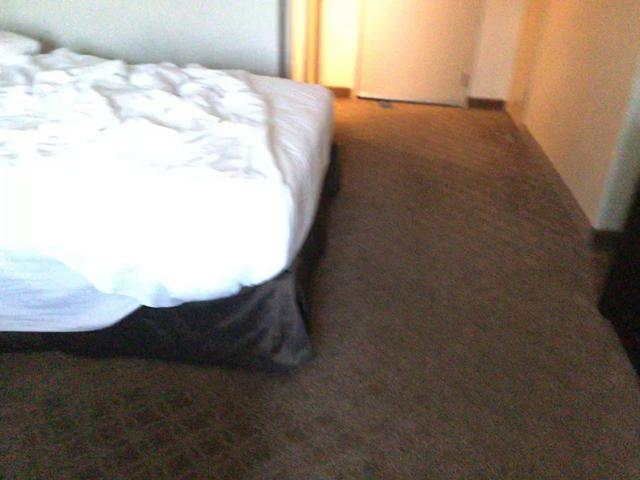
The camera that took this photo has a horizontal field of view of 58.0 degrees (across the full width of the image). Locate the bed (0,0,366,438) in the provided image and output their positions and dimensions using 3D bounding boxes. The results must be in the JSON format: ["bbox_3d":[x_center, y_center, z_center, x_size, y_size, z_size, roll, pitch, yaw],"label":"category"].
[{"bbox_3d":[-0.990,-0.580,2.280,2.200,1.510,1.800,5,27,6],"label":"bed"}]
